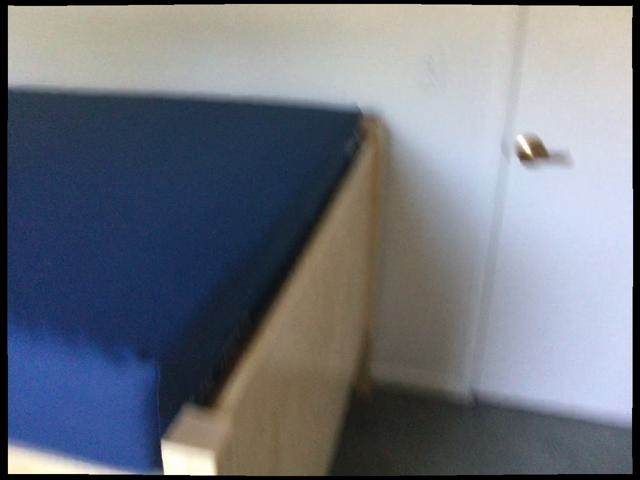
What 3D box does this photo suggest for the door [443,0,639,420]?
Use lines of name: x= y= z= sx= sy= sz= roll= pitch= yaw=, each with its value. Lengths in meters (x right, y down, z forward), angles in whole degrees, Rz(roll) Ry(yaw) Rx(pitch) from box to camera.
door: x=0.978 y=-0.080 z=1.920 sx=0.898 sy=1.542 sz=0.080 roll=9 pitch=26 yaw=12
